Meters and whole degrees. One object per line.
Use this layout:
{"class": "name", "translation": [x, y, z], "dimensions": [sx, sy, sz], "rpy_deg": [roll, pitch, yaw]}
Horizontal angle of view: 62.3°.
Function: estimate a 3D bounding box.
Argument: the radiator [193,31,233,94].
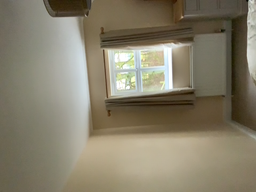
{"class": "radiator", "translation": [1.290, -0.500, 3.220], "dimensions": [0.060, 0.570, 0.900], "rpy_deg": [-101, 6, -80]}
